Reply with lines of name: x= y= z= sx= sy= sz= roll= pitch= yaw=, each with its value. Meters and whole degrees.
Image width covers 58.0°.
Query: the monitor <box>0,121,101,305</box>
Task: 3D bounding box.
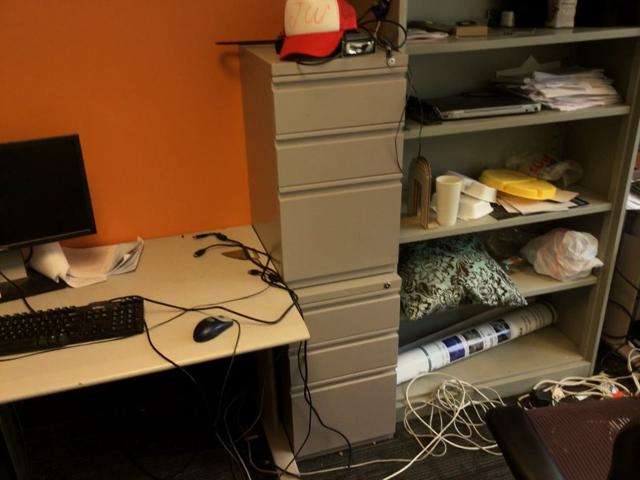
monitor: x=-0.870 y=-0.080 z=1.620 sx=0.400 sy=0.410 sz=0.320 roll=-8 pitch=24 yaw=-14
